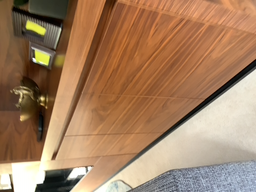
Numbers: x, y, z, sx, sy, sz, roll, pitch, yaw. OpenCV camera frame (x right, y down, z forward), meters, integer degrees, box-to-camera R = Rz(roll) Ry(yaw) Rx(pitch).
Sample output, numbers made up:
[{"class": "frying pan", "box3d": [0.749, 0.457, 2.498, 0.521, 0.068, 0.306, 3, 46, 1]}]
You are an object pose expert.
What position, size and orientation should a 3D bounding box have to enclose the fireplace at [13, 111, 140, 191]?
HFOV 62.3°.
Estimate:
[{"class": "fireplace", "box3d": [-0.810, 0.860, 2.730, 1.920, 1.130, 0.450, -54, 41, 49]}]
